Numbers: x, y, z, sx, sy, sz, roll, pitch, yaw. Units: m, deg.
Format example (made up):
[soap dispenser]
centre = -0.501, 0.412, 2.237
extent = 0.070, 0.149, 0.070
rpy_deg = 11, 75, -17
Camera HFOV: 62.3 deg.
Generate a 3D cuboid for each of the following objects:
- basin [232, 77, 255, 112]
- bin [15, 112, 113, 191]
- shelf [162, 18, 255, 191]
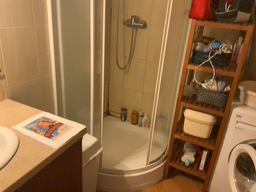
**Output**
[basin]
centre = 0.980, 0.000, 1.550
extent = 0.360, 0.130, 0.340
rpy_deg = 15, 26, 23
[bin]
centre = -0.470, 0.530, 1.630
extent = 0.570, 0.580, 0.370
rpy_deg = 15, 26, 23
[shelf]
centre = 0.640, 0.080, 1.810
extent = 0.390, 1.360, 0.490
rpy_deg = 15, 26, 22
